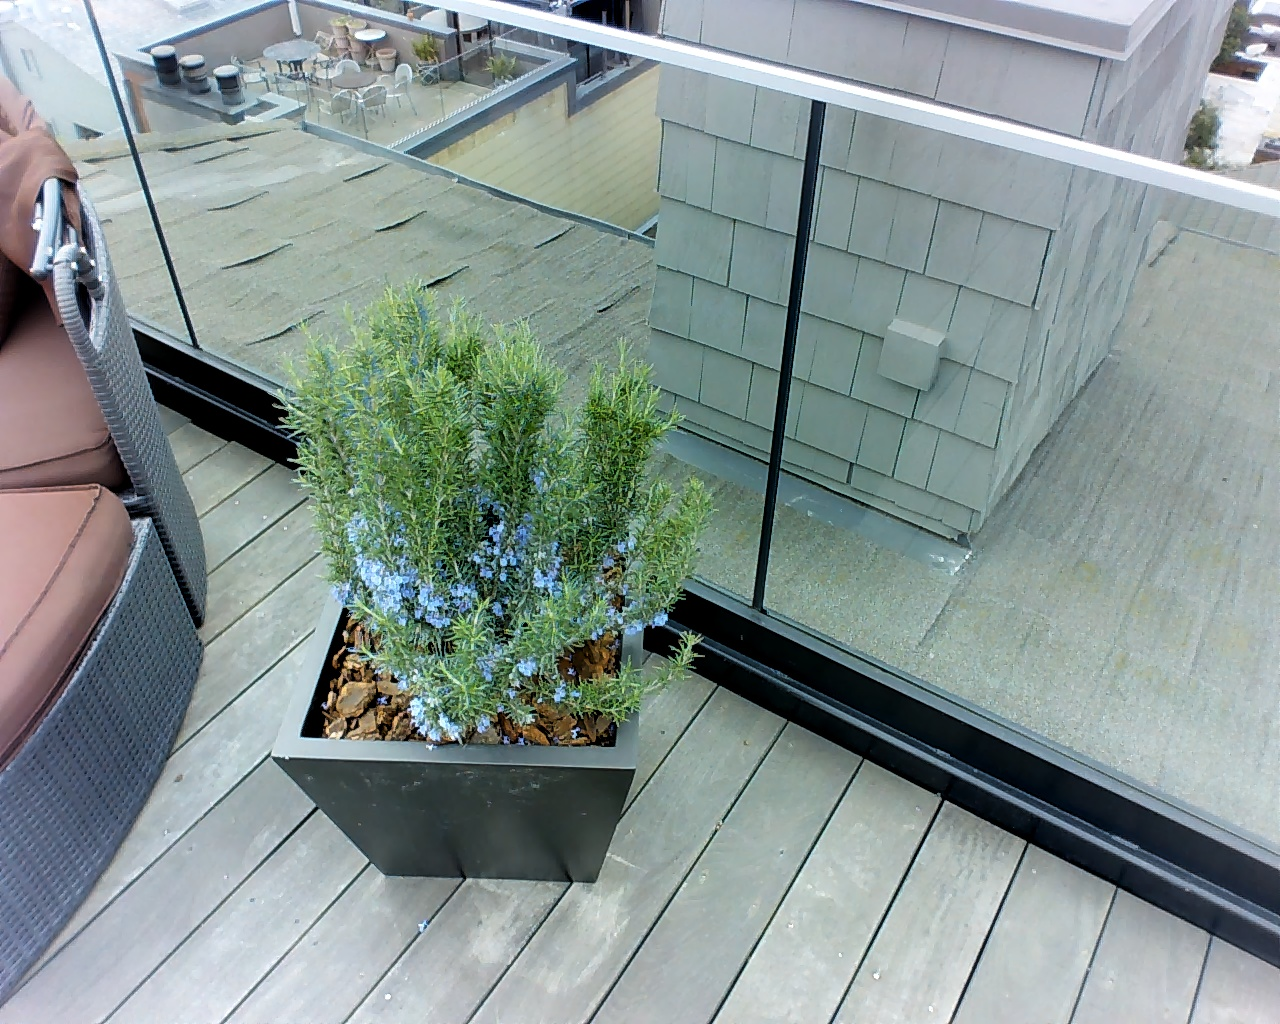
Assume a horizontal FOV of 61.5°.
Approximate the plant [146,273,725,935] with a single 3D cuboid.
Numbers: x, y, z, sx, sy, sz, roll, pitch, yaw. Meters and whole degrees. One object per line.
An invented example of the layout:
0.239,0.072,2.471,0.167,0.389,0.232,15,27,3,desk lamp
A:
-0.190,0.160,1.490,0.570,0.840,0.430,2,42,3,plant
